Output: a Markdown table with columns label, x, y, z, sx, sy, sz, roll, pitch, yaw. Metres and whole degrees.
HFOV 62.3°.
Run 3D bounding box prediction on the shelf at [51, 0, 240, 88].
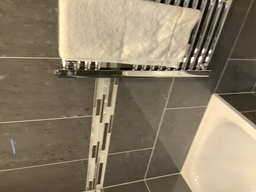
| label | x | y | z | sx | sy | sz | roll | pitch | yaw |
| --- | --- | --- | --- | --- | --- | --- | --- | --- | --- |
| shelf | 0.070 | -0.250 | 0.860 | 0.110 | 0.710 | 0.420 | -119 | 33 | -50 |
